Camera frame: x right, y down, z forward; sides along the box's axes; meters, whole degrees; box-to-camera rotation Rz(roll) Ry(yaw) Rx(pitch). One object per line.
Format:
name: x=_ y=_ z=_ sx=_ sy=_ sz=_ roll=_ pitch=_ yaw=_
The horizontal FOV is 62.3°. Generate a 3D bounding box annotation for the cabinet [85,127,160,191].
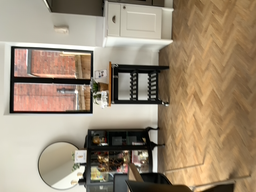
cabinet: x=-0.090 y=0.980 z=3.310 sx=0.330 sy=1.100 sz=0.950 roll=-173 pitch=85 yaw=-80
